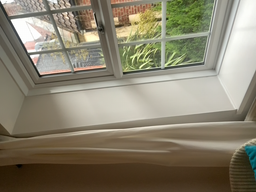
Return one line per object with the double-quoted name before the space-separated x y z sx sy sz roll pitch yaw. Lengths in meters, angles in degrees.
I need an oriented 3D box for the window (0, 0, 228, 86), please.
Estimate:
"window" -0.140 -0.440 1.420 0.780 1.490 0.090 81 -176 -50
